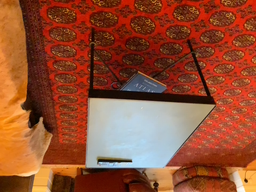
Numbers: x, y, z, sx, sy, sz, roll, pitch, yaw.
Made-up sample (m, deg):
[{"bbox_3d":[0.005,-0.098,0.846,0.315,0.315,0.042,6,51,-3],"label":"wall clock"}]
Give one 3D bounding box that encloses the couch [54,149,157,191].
[{"bbox_3d":[-0.250,1.360,2.720,1.100,0.880,0.810,-16,141,15],"label":"couch"}]
